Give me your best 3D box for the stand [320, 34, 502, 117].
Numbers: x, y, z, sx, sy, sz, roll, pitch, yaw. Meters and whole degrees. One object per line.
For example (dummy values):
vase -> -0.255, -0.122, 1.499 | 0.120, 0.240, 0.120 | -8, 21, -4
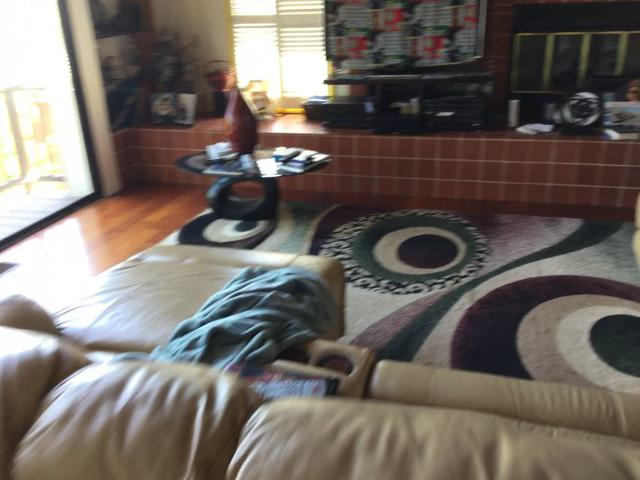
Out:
stand -> 0.700, -1.250, 4.400 | 1.270, 0.490, 0.540 | 3, 24, 18

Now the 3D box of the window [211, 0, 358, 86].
window -> -0.320, -2.060, 4.660 | 1.160, 1.540, 0.220 | 3, 24, 18
